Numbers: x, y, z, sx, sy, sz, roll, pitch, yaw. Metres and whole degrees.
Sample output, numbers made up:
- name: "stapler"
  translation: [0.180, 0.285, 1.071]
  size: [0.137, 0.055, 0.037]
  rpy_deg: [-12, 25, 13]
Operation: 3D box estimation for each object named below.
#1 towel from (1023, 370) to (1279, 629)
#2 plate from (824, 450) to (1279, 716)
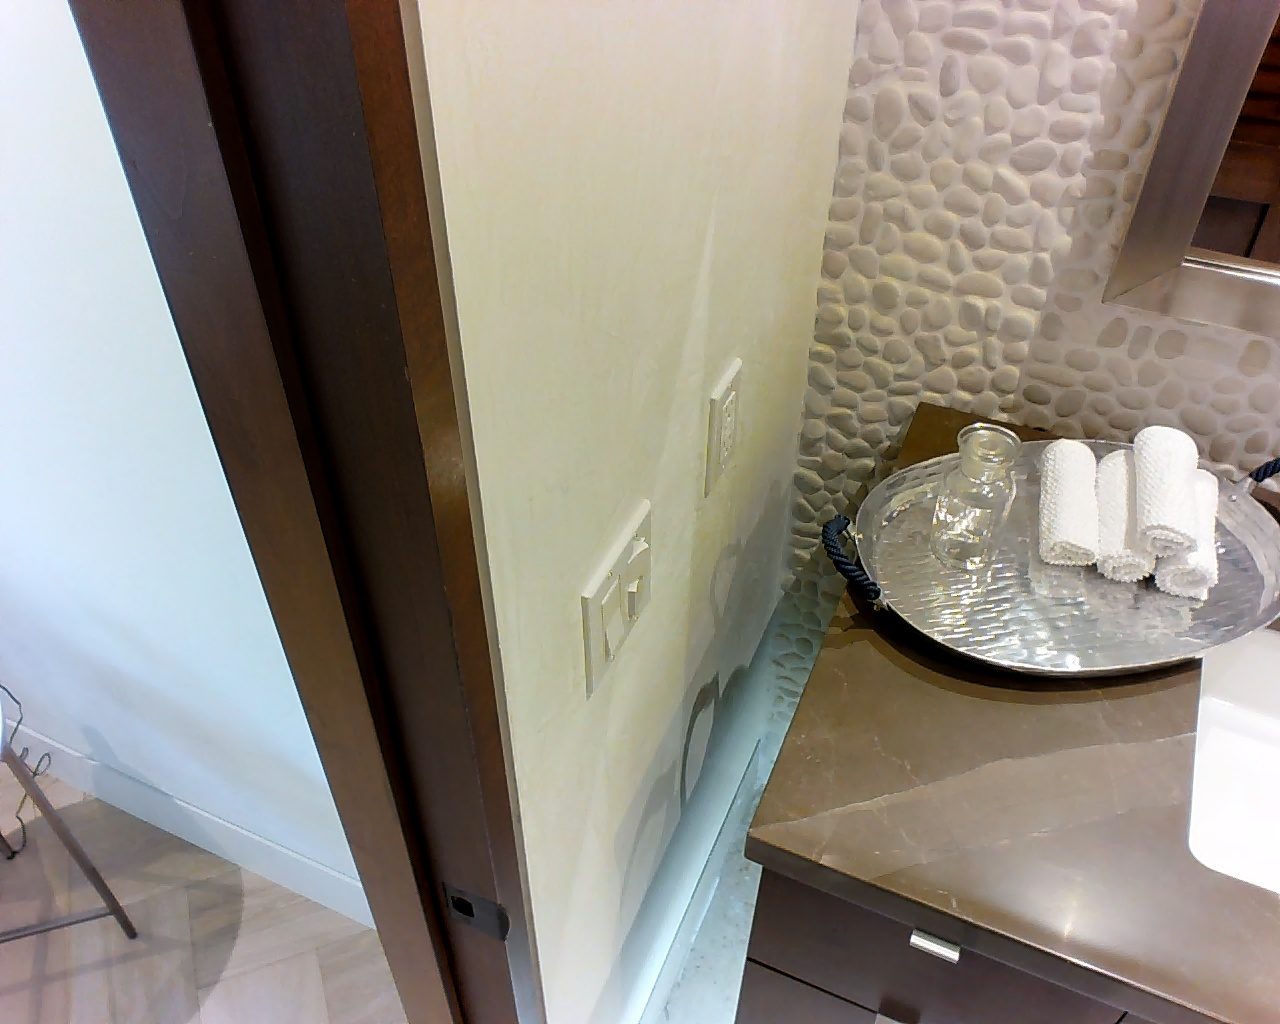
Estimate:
- name: "towel"
  translation: [0.530, -0.020, 1.110]
  size: [0.210, 0.120, 0.210]
  rpy_deg: [14, 44, 15]
- name: "plate"
  translation: [0.420, 0.060, 1.110]
  size: [0.420, 0.040, 0.330]
  rpy_deg: [1, 42, 1]
